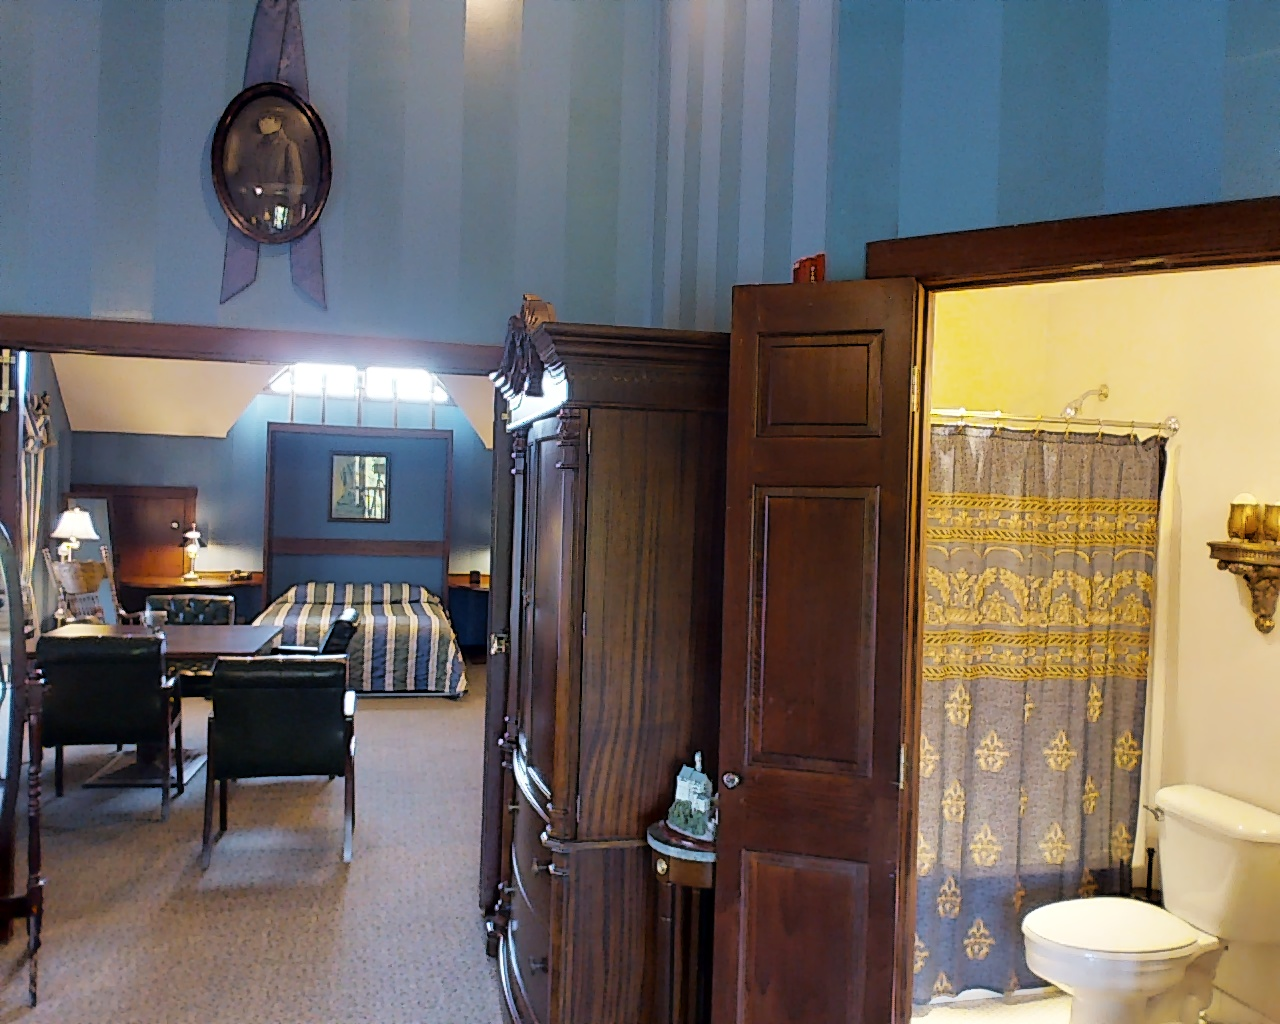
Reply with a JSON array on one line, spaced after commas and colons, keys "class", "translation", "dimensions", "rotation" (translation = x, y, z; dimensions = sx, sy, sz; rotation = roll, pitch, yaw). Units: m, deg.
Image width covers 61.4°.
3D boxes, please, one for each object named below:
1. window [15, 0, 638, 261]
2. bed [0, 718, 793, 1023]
[{"class": "window", "translation": [-1.050, -1.480, 3.860], "dimensions": [2.060, 0.950, 0.260], "rotation": [1, 1, -13]}, {"class": "bed", "translation": [-0.840, 1.110, 2.550], "dimensions": [1.750, 0.680, 2.560], "rotation": [1, 1, -12]}]
